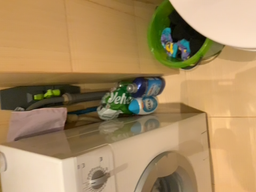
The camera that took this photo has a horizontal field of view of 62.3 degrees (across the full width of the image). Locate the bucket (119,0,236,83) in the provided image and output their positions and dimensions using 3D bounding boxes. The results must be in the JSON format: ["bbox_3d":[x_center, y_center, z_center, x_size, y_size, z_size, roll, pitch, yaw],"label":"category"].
[{"bbox_3d":[0.240,-0.210,0.920,0.230,0.490,0.200,-39,69,36],"label":"bucket"}]
